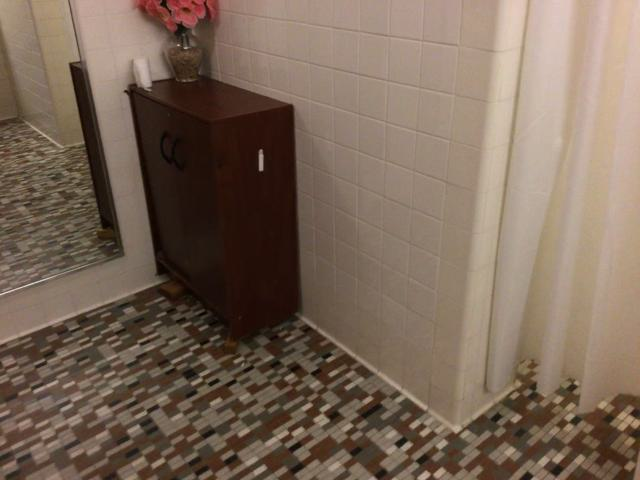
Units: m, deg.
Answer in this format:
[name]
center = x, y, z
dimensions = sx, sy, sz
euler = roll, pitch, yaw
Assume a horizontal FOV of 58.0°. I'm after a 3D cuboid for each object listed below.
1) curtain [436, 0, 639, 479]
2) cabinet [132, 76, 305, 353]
[curtain]
center = 0.680, -0.310, 1.130
dimensions = 0.460, 2.010, 0.580
euler = -21, 33, -34
[cabinet]
center = -0.370, -0.120, 2.150
dimensions = 0.290, 0.830, 0.620
euler = -21, 33, -34
